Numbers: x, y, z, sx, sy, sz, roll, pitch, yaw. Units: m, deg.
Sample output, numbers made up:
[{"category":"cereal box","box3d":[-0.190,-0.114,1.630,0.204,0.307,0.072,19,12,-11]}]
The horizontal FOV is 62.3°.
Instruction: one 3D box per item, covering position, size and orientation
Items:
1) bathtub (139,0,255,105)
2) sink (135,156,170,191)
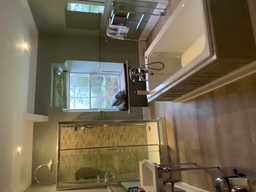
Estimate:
[{"category":"bathtub","box3d":[0.730,-0.530,2.770,1.870,0.620,0.950,134,134,-71]},{"category":"sink","box3d":[0.290,1.040,2.700,0.680,0.190,0.500,130,138,-70]}]
